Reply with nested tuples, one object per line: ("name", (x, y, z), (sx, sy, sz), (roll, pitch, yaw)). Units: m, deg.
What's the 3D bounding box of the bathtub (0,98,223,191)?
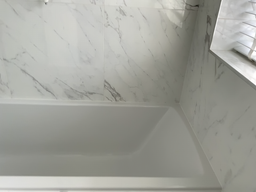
("bathtub", (-0.440, 0.450, 1.220), (1.580, 0.570, 0.720), (2, 29, -4))
